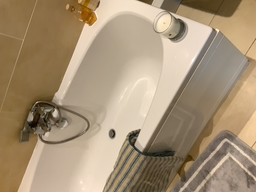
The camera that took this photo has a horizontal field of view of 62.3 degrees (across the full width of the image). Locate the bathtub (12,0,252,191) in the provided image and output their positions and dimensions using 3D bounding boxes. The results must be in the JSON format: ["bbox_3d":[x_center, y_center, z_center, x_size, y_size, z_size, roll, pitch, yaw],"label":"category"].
[{"bbox_3d":[-0.110,0.310,1.390,0.750,0.590,1.650,40,109,36],"label":"bathtub"}]
